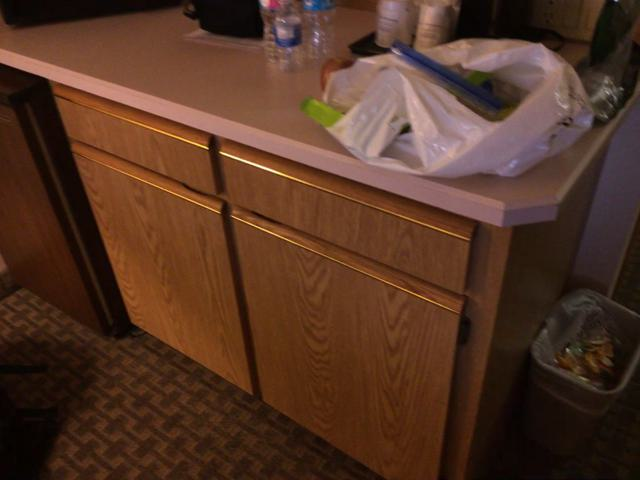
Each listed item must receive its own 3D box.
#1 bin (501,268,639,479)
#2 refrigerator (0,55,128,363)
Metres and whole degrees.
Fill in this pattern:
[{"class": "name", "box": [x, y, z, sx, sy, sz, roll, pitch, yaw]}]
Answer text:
[{"class": "bin", "box": [0.620, 0.320, 1.390, 0.200, 0.350, 0.320, 21, 39, 29]}, {"class": "refrigerator", "box": [-0.830, -0.090, 1.610, 0.490, 0.810, 0.140, 21, 39, 29]}]
